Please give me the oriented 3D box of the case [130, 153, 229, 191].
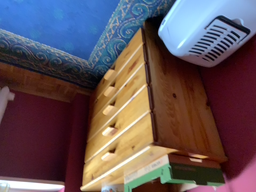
[{"bbox_3d":[0.230,0.400,1.000,0.320,0.120,0.300,20,139,-29],"label":"case"}]
